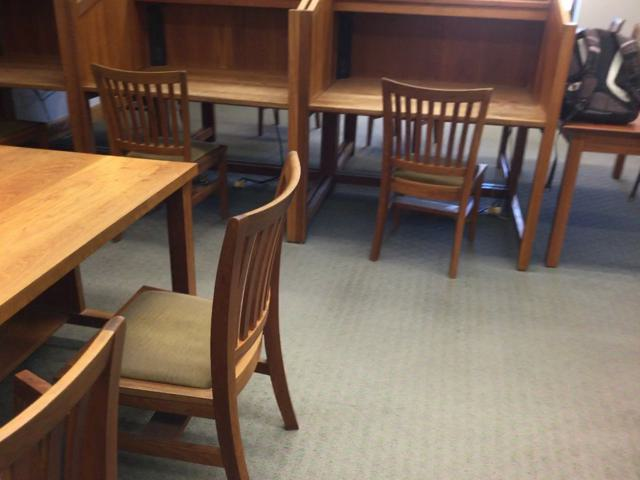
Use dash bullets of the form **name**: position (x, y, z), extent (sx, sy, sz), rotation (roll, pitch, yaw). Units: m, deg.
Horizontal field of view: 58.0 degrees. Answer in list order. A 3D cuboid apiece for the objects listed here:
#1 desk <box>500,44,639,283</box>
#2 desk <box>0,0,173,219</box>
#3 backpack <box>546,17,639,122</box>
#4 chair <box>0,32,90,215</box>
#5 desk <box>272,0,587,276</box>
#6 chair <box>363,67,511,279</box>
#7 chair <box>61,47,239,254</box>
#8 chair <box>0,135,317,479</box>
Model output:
- **desk**: position (1.730, -0.550, 3.320), extent (1.140, 0.880, 1.750), rotation (9, 26, 16)
- **desk**: position (-1.640, -0.960, 3.440), extent (1.110, 1.350, 0.860), rotation (6, 25, 11)
- **backpack**: position (1.310, -0.790, 2.640), extent (0.410, 0.390, 0.420), rotation (6, 25, 11)
- **chair**: position (-1.830, -0.690, 3.320), extent (0.630, 0.900, 0.560), rotation (6, 25, 11)
- **desk**: position (0.520, -0.730, 3.070), extent (1.290, 1.400, 1.010), rotation (6, 25, 11)
- **chair**: position (0.560, -0.350, 2.870), extent (0.580, 0.890, 0.520), rotation (6, 25, 11)
- **chair**: position (-0.840, -0.500, 3.070), extent (0.610, 0.920, 0.600), rotation (6, 25, 11)
- **chair**: position (-0.370, 0.250, 1.560), extent (0.610, 0.910, 0.540), rotation (6, 25, 11)
